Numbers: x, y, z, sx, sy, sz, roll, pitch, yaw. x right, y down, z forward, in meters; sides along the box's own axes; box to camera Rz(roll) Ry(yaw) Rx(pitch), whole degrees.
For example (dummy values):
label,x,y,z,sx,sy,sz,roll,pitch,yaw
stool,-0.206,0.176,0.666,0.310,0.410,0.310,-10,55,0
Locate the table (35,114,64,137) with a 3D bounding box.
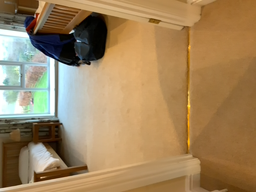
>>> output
label,x,y,z,sx,sy,sz,roll,pitch,yaw
table,-1.620,0.590,4.390,0.320,0.520,0.390,4,94,59
